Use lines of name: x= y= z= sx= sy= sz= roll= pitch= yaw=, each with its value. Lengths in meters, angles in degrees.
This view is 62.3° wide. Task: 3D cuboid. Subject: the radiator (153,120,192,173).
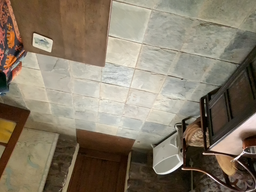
radiator: x=0.570 y=0.700 z=2.830 sx=0.200 sy=0.470 sz=0.670 roll=16 pitch=145 yaw=-10
